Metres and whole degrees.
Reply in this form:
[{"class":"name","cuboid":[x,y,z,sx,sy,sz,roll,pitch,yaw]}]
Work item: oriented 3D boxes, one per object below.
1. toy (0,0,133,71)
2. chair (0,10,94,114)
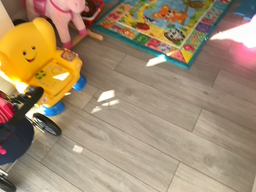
[{"class":"toy","cuboid":[-0.510,-0.840,1.720,0.770,0.620,0.860,26,60,18]},{"class":"chair","cuboid":[-0.530,-0.230,1.420,0.340,0.400,0.460,26,60,18]}]
